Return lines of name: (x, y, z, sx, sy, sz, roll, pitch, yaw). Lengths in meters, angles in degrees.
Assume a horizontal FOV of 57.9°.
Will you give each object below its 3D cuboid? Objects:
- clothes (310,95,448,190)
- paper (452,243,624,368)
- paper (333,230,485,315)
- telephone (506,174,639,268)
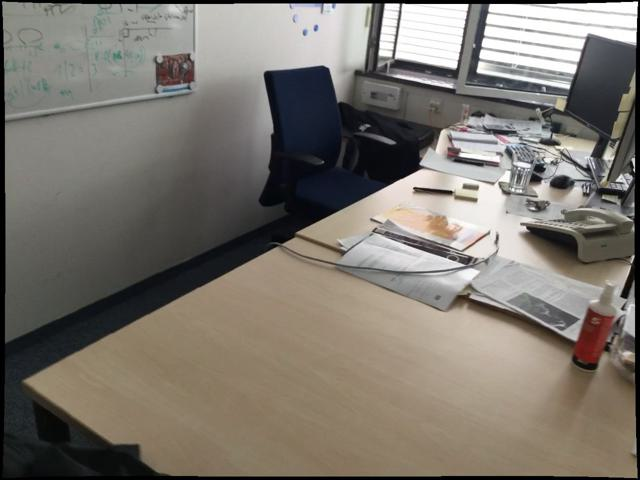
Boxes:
clothes: (0.340, -0.571, 3.250, 0.510, 0.300, 0.620, 20, 30, 27)
paper: (0.509, 0.130, 1.330, 0.300, 0.050, 0.330, 20, 30, 27)
paper: (0.220, 0.070, 1.420, 0.310, 0.030, 0.210, 20, 30, 27)
telephone: (0.779, -0.070, 1.710, 0.330, 0.110, 0.290, -17, 34, -38)
